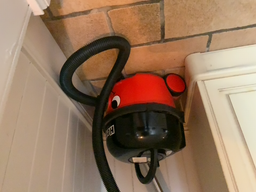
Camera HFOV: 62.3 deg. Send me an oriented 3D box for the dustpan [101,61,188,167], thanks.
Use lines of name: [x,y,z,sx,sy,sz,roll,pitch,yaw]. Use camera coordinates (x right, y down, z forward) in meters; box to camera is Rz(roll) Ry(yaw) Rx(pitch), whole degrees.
dustpan: [0.070,0.110,1.000,0.310,0.330,0.390,-7,149,4]
